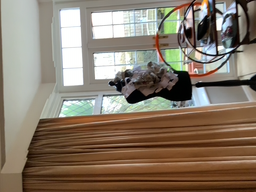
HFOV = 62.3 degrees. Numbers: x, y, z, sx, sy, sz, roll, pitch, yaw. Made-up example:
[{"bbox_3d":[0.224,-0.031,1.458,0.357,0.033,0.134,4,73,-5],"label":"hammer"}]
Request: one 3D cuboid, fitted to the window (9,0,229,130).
[{"bbox_3d":[-0.140,-0.890,2.510,0.870,2.060,2.410,52,-144,-84],"label":"window"}]
